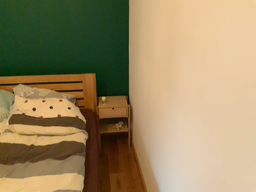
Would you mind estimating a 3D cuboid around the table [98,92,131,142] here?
[{"bbox_3d":[-0.170,0.260,2.620,0.370,0.580,0.190,-2,21,-7],"label":"table"}]
